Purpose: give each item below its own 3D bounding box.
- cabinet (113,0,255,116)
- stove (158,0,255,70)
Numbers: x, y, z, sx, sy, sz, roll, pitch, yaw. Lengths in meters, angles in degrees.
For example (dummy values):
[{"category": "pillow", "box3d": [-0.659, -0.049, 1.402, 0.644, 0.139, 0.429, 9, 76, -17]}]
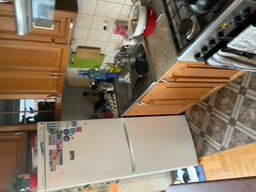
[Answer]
[{"category": "cabinet", "box3d": [0.440, -0.270, 2.100, 1.090, 0.800, 0.600, 133, 132, -58]}, {"category": "stove", "box3d": [0.420, -0.570, 1.270, 0.520, 0.150, 0.640, 133, 132, -58]}]
